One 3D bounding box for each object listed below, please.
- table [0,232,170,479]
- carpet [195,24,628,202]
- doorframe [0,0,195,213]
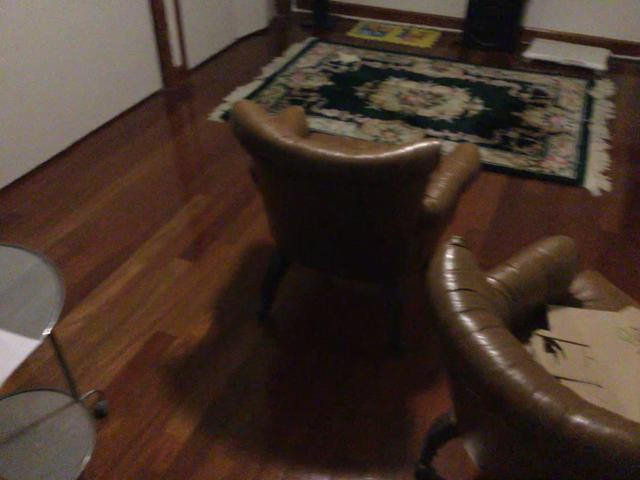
[{"bbox_3d":[-0.770,0.380,1.310,0.540,0.580,0.540,11,41,15],"label":"table"},{"bbox_3d":[0.520,-0.800,3.110,2.000,0.070,1.240,16,43,20],"label":"carpet"},{"bbox_3d":[-1.170,-1.120,2.210,0.190,1.730,1.610,16,43,21],"label":"doorframe"}]
